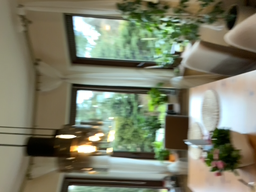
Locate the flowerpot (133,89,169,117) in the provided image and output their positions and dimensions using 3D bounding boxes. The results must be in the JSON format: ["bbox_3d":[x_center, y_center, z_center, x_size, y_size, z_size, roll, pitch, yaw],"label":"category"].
[{"bbox_3d":[0.360,0.110,3.430,0.310,0.520,0.410,-178,91,-87],"label":"flowerpot"}]

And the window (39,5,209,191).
[{"bbox_3d":[-0.030,0.380,2.940,1.120,1.840,2.700,125,148,-84],"label":"window"}]
